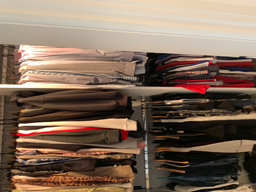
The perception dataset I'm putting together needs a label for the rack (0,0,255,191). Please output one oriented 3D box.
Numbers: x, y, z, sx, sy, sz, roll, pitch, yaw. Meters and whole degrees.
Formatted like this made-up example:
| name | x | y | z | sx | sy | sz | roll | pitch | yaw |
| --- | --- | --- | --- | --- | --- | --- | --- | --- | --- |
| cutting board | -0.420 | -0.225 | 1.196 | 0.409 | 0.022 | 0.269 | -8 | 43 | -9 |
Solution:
| name | x | y | z | sx | sy | sz | roll | pitch | yaw |
| --- | --- | --- | --- | --- | --- | --- | --- | --- | --- |
| rack | 0.090 | -0.430 | 1.670 | 0.640 | 2.030 | 2.230 | 145 | 124 | -73 |
